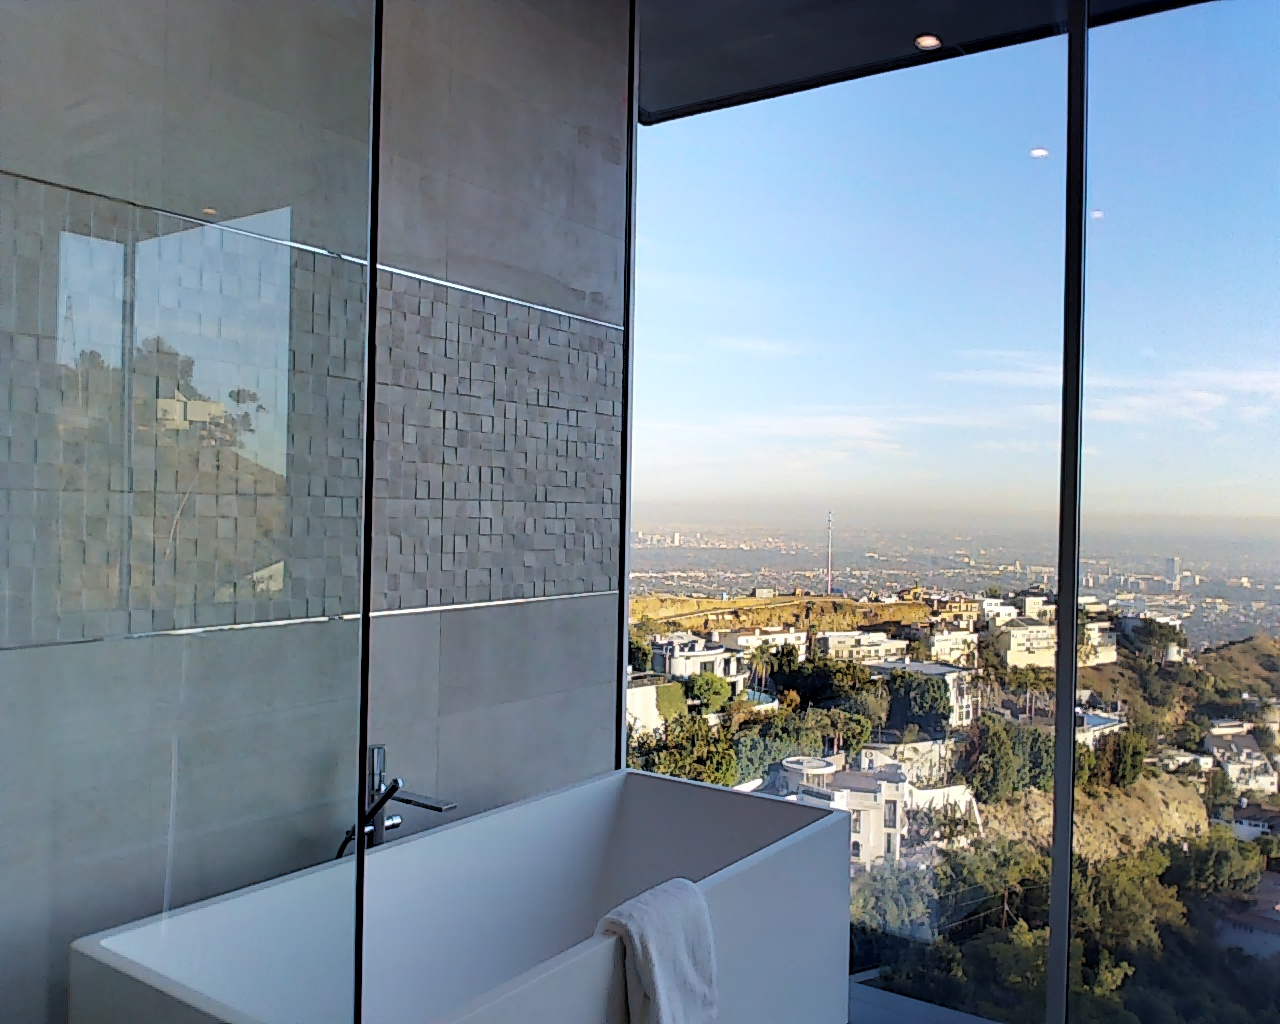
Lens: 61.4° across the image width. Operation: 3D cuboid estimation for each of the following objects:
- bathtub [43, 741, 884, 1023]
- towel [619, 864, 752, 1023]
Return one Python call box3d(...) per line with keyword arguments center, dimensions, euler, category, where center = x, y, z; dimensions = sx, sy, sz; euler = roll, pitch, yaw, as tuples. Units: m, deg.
box3d(center=(-0.210, 1.090, 2.560), dimensions=(0.870, 0.650, 1.930), euler=(1, 0, 35), category="bathtub")
box3d(center=(0.100, 0.970, 2.230), dimensions=(0.100, 0.370, 0.350), euler=(1, 0, 35), category="towel")
